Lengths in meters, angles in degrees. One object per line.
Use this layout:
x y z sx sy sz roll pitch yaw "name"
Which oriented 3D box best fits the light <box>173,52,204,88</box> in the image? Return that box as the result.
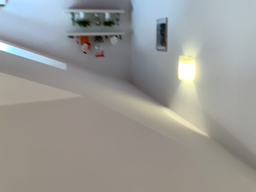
0.670 -0.300 2.380 0.180 0.350 0.310 -5 -164 -13 "light"
